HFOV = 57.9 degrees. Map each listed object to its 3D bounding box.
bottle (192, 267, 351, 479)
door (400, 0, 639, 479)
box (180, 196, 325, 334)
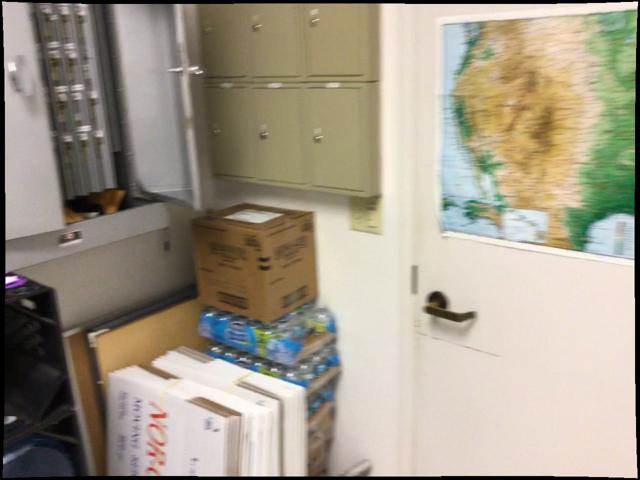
[{"bbox_3d":[-0.160,0.511,2.000,0.480,0.731,0.220,11,21,35],"label":"bottle"},{"bbox_3d":[0.629,0.020,1.320,0.949,1.662,0.090,11,21,35],"label":"door"},{"bbox_3d":[-0.210,0.060,1.840,0.360,0.320,0.260,11,21,35],"label":"box"}]
